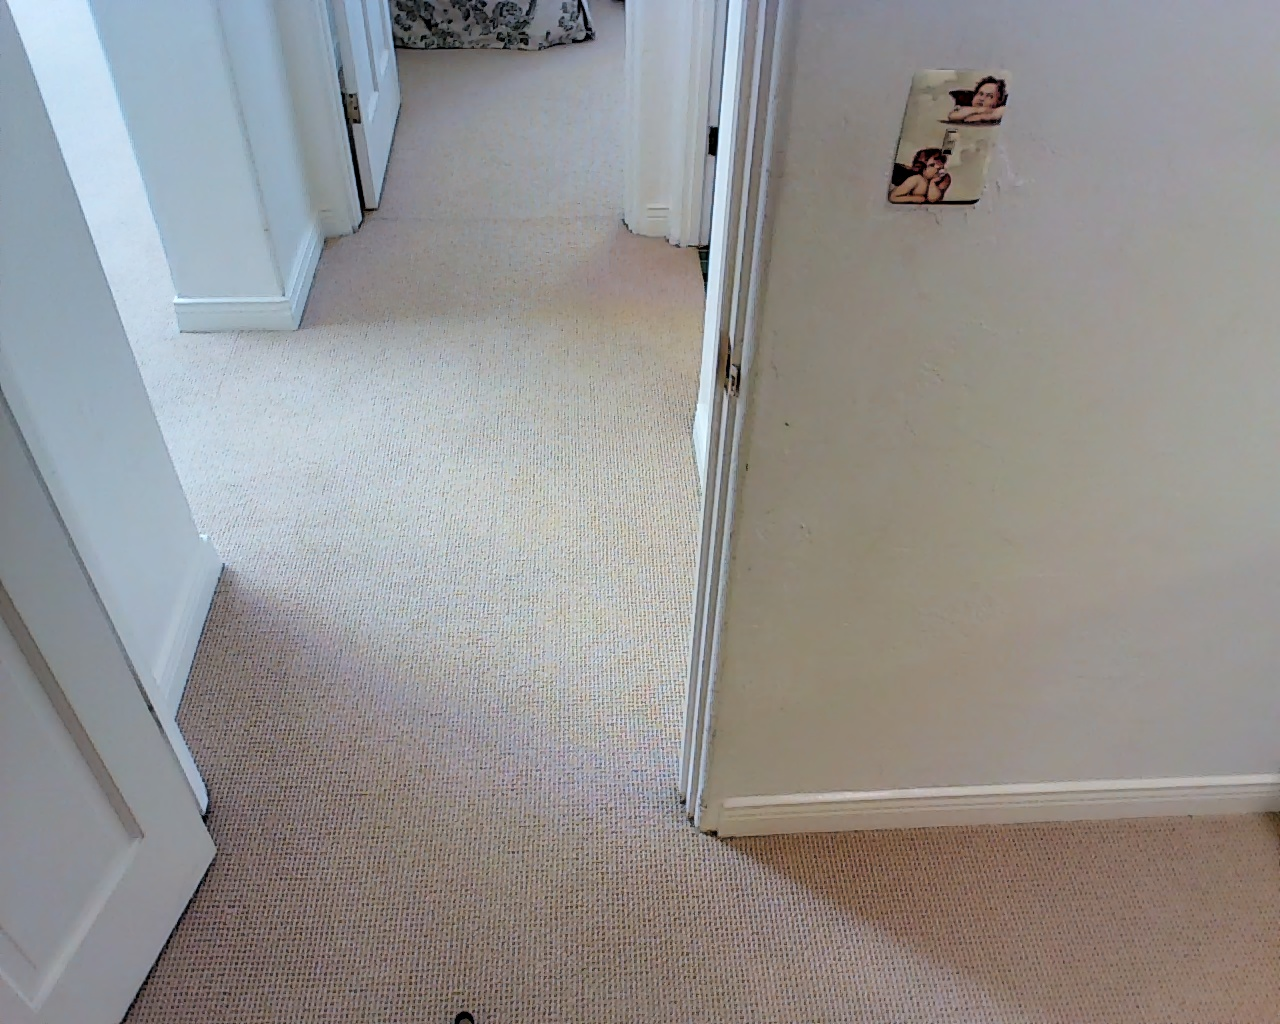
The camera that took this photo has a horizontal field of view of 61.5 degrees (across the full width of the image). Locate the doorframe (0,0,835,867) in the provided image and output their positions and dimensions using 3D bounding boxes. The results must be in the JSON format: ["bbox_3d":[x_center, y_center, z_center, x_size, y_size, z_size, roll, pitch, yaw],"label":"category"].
[{"bbox_3d":[-0.300,-0.250,1.140,0.910,2.070,0.180,-2,43,-2],"label":"doorframe"}]
